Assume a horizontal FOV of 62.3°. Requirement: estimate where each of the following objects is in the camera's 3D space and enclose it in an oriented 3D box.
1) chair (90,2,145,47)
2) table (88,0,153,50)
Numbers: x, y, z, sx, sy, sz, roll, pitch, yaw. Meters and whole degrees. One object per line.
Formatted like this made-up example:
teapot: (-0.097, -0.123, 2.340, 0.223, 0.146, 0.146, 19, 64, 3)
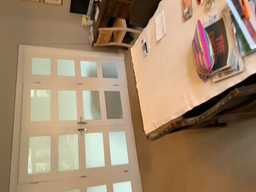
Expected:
chair: (-0.200, -1.250, 3.770, 0.410, 0.840, 0.510, 129, 136, -57)
table: (-0.220, -1.530, 3.920, 1.270, 0.770, 0.650, 132, 134, -58)
